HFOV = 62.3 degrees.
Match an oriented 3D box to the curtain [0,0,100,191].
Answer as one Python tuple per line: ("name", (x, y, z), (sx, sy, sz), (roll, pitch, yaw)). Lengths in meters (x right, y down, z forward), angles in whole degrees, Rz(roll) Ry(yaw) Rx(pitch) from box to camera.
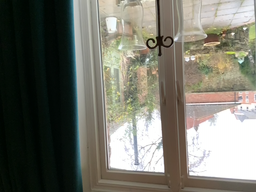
("curtain", (-0.420, -0.280, 0.850), (0.480, 2.250, 0.220), (-2, -177, 14))
